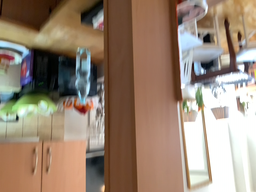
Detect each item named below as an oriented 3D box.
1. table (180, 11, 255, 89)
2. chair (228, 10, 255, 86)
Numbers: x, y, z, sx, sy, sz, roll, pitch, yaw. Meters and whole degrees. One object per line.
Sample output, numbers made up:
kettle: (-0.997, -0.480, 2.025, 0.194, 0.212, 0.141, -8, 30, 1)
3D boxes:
table: (1.330, -0.590, 3.100, 0.740, 0.750, 0.760, 8, 165, -43)
chair: (1.720, -0.610, 2.770, 0.530, 0.860, 0.440, -3, 169, 4)
